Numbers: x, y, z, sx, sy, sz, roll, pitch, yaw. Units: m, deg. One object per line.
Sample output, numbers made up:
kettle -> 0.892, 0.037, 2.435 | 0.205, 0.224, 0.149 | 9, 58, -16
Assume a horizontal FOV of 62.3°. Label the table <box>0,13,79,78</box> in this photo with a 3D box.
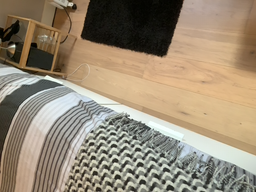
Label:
table -> -0.750, -0.420, 1.820 | 0.380, 0.410, 0.390 | 20, 97, 32
